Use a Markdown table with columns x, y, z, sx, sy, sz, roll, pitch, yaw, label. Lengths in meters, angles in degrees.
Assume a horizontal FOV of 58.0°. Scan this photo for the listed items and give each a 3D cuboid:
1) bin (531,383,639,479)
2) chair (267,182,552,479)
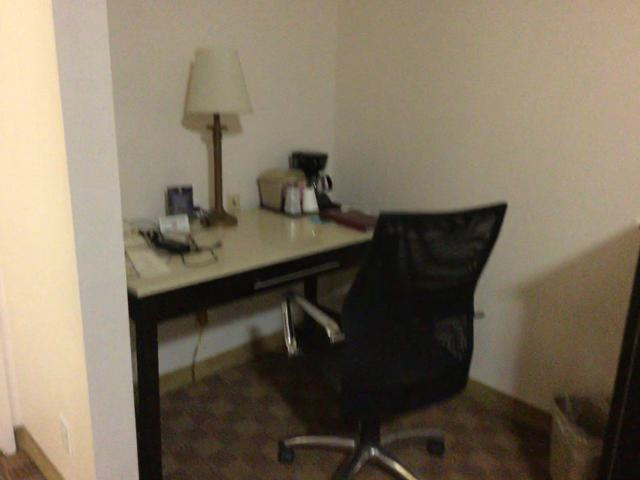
| x | y | z | sx | sy | sz | roll | pitch | yaw | label |
| --- | --- | --- | --- | --- | --- | --- | --- | --- | --- |
| 0.920 | 0.710 | 1.970 | 0.270 | 0.300 | 0.370 | 0 | 11 | 3 | bin |
| 0.240 | 0.360 | 1.960 | 0.620 | 1.030 | 0.720 | -5 | 12 | -23 | chair |
